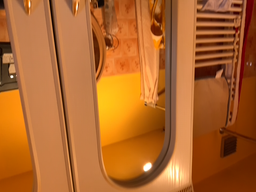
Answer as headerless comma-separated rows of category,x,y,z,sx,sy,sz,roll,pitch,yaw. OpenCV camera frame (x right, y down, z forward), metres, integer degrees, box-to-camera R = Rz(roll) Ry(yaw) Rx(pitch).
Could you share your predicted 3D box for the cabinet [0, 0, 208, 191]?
cabinet,-0.210,0.000,0.580,0.810,0.740,0.340,-10,-163,-30
